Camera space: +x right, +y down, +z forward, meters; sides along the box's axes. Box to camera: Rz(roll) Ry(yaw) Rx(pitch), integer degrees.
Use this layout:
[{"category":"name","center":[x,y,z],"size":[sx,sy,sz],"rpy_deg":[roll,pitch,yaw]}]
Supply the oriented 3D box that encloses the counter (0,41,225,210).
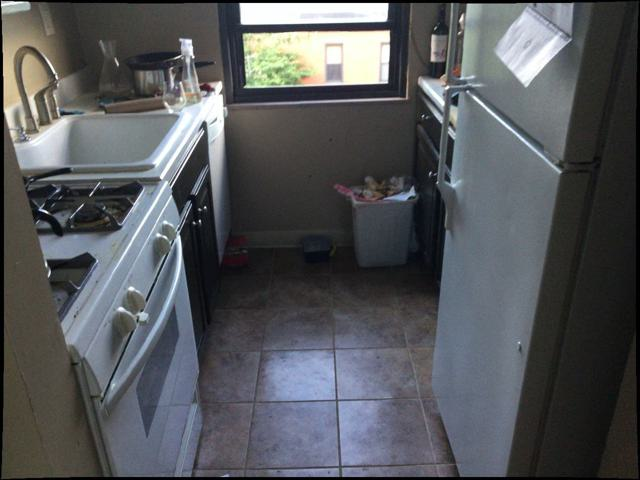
[{"category":"counter","center":[-0.768,-0.491,2.100],"size":[0.648,0.180,1.361],"rpy_deg":[-4,28,1]}]
